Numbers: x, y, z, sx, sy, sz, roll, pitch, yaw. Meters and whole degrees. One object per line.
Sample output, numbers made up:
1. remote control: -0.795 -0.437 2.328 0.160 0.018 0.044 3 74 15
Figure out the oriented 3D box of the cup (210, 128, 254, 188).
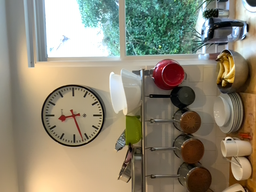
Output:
1. cup: 0.630 0.370 1.310 0.200 0.170 0.300 -81 -10 -86
